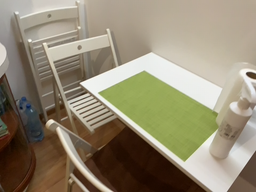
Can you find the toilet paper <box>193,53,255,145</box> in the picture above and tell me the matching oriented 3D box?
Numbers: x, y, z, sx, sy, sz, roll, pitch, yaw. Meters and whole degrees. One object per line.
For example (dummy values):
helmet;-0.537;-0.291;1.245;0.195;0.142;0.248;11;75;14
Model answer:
toilet paper;0.360;0.010;0.730;0.110;0.240;0.170;-25;48;-32
